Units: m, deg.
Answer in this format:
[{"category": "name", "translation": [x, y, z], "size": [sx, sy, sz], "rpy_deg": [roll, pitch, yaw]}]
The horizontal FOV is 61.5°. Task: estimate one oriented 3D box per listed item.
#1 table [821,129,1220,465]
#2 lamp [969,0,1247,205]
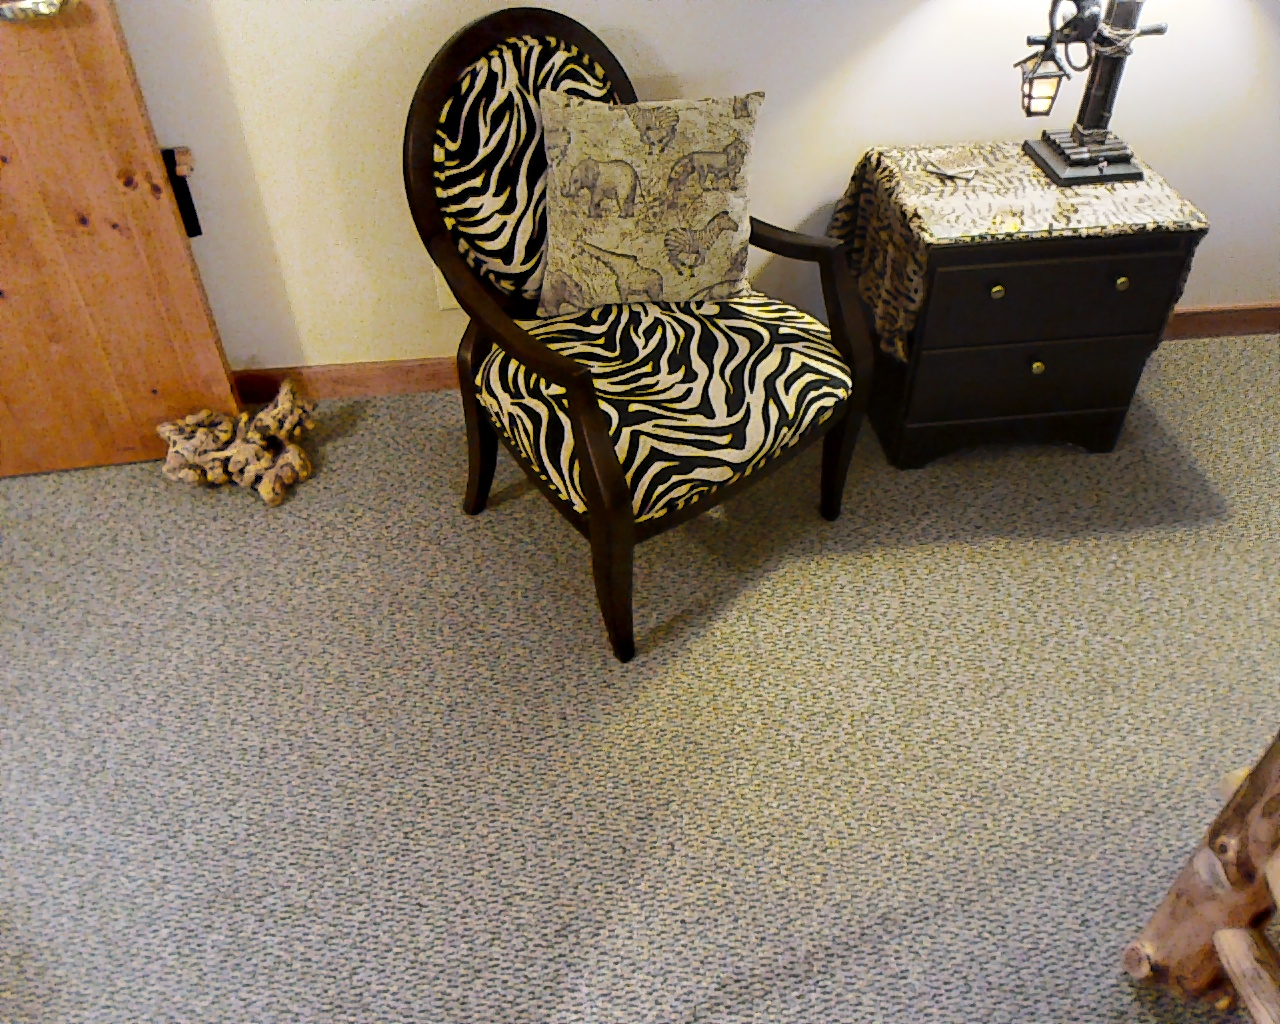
[{"category": "table", "translation": [0.790, -0.480, 2.410], "size": [0.620, 0.550, 0.450], "rpy_deg": [-4, 44, -4]}, {"category": "lamp", "translation": [0.910, -1.010, 2.040], "size": [0.320, 0.740, 0.330], "rpy_deg": [-4, 44, -4]}]
